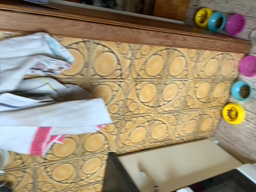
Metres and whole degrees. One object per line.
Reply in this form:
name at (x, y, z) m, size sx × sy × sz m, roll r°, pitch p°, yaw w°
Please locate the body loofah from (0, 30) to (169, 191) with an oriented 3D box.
body loofah at (-0.300, 0.080, 0.770) m, size 0.250 × 0.790 × 0.550 m, roll 42°, pitch 128°, yaw 51°
